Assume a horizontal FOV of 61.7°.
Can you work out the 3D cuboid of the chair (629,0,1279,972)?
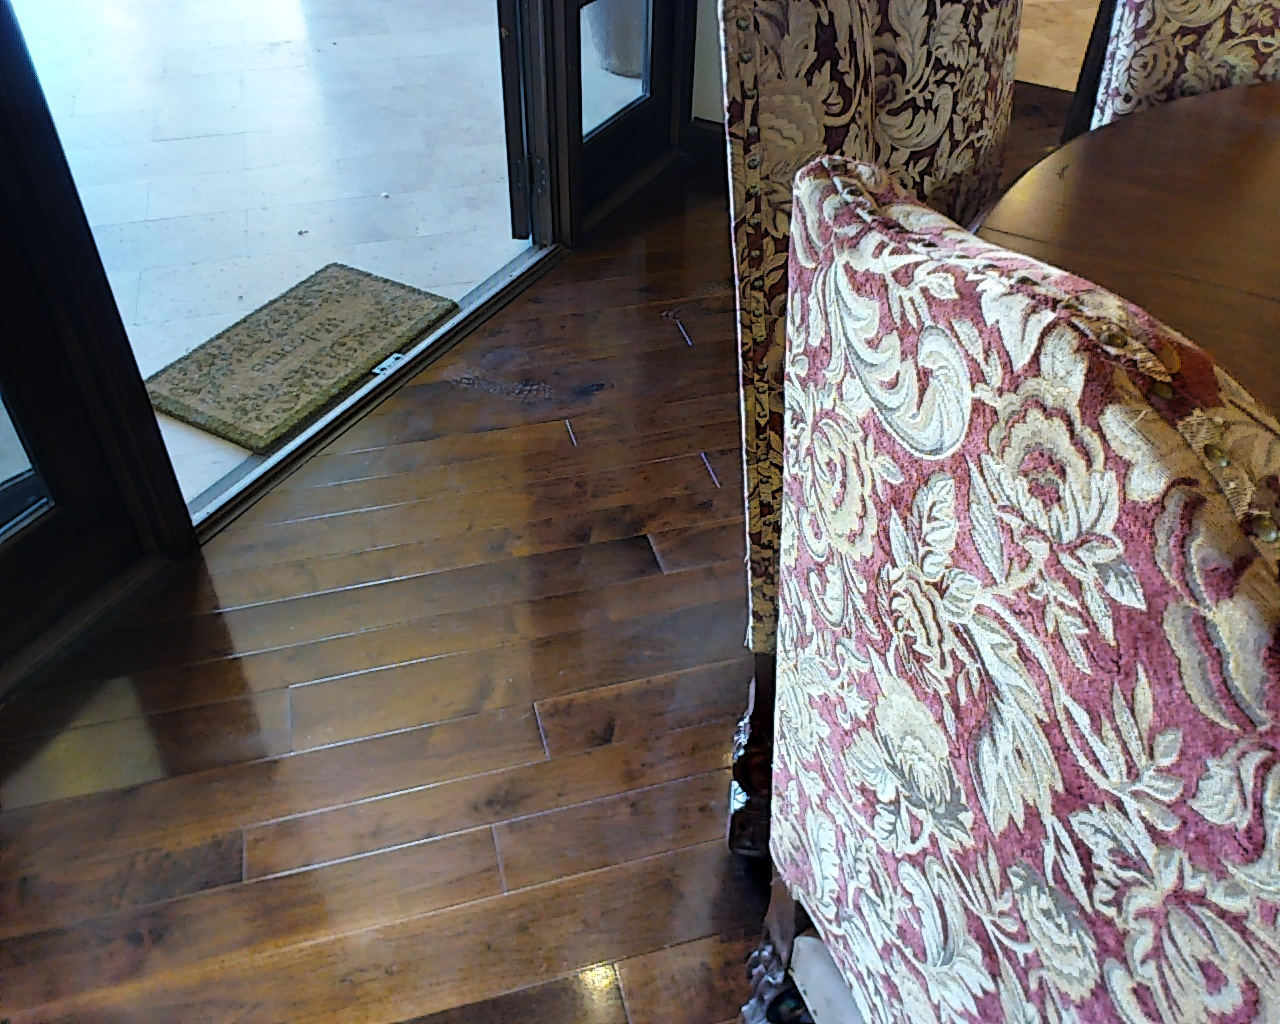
[{"bbox_3d":[0.430,-0.080,1.450,0.780,1.350,0.680,7,42,6],"label":"chair"}]
